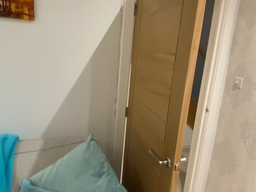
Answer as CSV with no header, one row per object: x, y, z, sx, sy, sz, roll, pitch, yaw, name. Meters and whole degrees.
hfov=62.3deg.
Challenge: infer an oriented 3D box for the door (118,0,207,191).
0.100,0.280,1.320,0.060,2.090,0.770,0,15,-16,door
